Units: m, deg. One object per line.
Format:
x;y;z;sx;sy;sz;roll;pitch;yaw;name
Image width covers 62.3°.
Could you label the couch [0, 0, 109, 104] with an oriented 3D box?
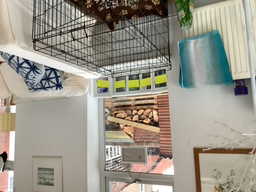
-1.250;-0.390;2.010;1.840;0.750;1.070;-5;172;27;couch
